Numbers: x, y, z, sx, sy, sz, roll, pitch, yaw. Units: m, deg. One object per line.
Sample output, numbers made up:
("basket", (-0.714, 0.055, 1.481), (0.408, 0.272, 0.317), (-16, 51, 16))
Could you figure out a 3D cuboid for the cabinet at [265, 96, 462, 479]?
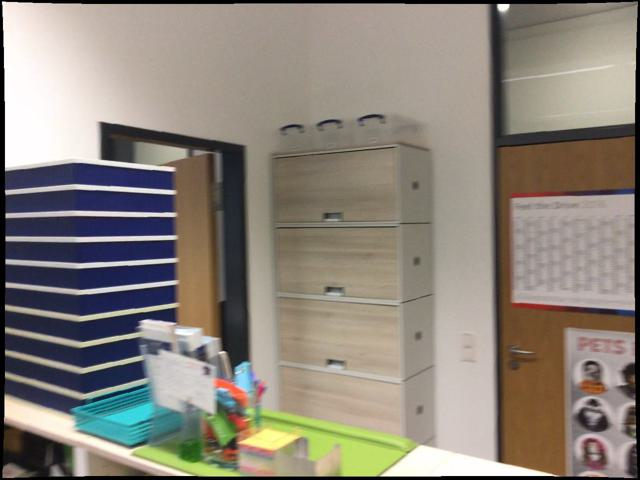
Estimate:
("cabinet", (0.230, 0.410, 3.200), (0.919, 2.192, 0.550), (2, 4, 39))
